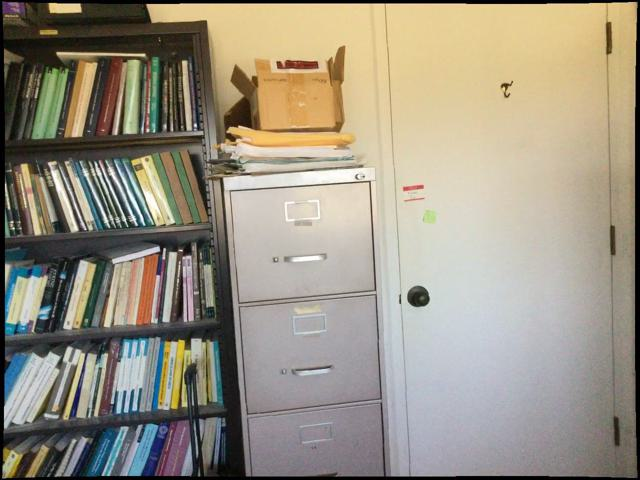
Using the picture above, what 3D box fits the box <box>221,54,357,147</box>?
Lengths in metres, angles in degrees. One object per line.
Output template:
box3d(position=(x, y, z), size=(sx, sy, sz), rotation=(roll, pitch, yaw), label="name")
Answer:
box3d(position=(-0.110, -0.401, 1.710), size=(0.349, 0.211, 0.390), rotation=(-4, 7, -10), label="box")

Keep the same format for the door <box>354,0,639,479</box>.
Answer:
box3d(position=(0.758, 0.070, 2.390), size=(1.147, 2.246, 0.150), rotation=(-4, 7, -10), label="door")
